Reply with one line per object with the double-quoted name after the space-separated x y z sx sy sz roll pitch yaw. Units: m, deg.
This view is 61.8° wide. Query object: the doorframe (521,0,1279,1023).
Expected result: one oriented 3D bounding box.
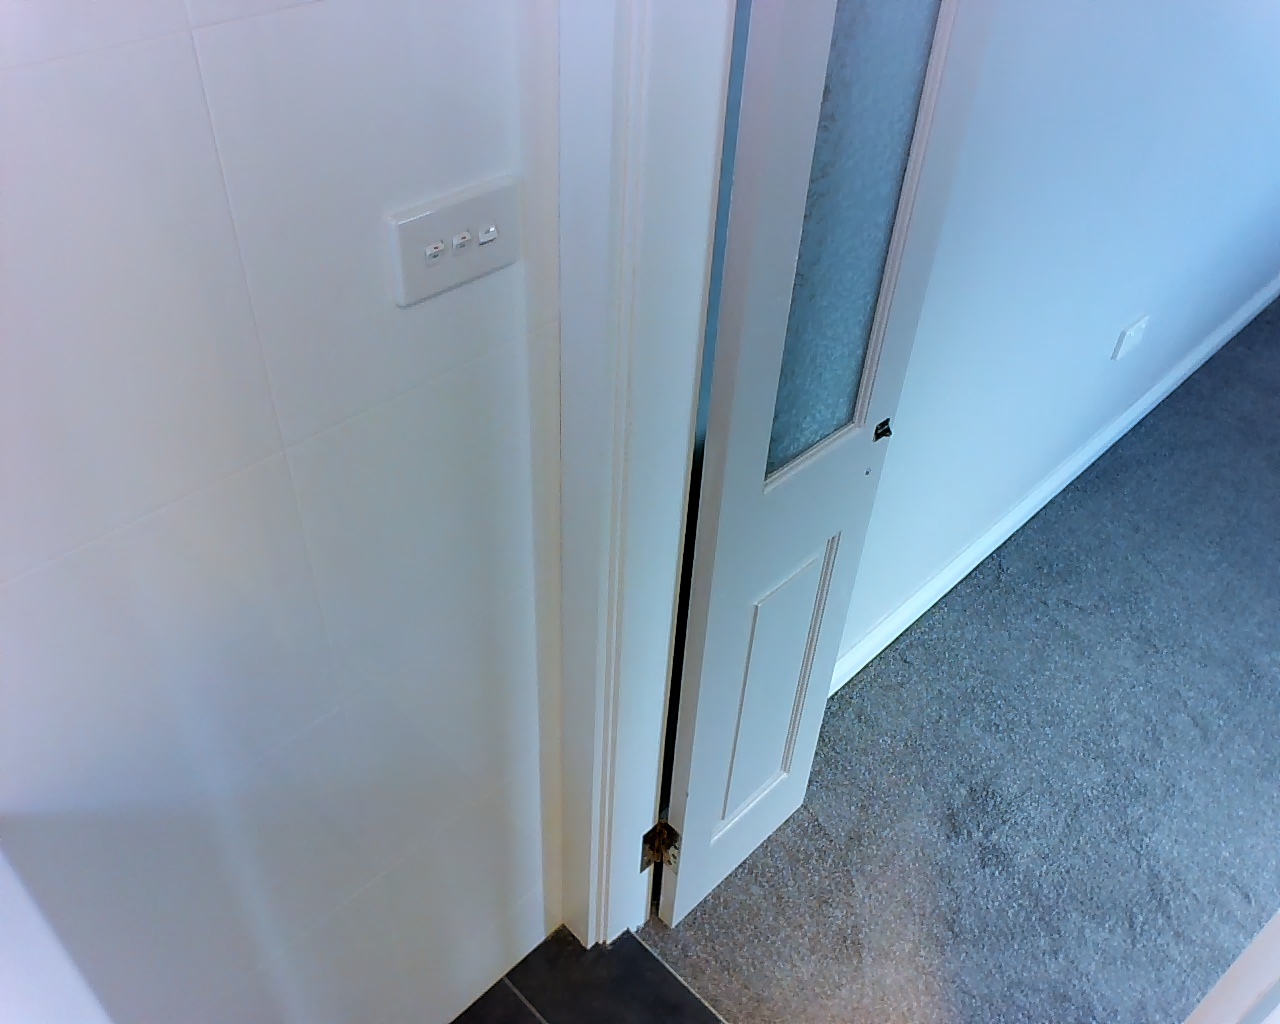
0.280 0.040 0.780 0.790 2.070 0.260 35 50 31 "doorframe"
